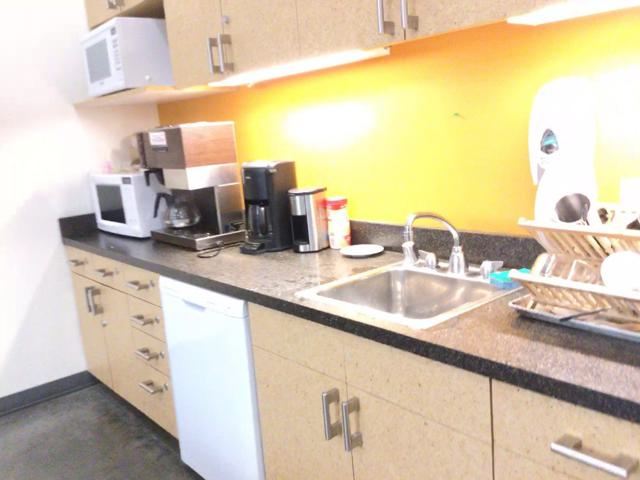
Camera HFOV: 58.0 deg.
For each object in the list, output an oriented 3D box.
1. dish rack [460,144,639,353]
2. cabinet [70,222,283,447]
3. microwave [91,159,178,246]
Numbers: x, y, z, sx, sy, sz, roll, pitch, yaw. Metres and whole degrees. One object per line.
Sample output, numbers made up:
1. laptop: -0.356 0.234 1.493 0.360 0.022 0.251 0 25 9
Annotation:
1. dish rack: 0.680 -0.010 1.230 0.440 0.370 0.600 -7 8 -36
2. cabinet: -0.730 0.360 2.830 0.620 0.750 1.010 -9 12 -36
3. microwave: -0.940 -0.200 2.900 0.220 0.390 0.570 -7 8 -36
